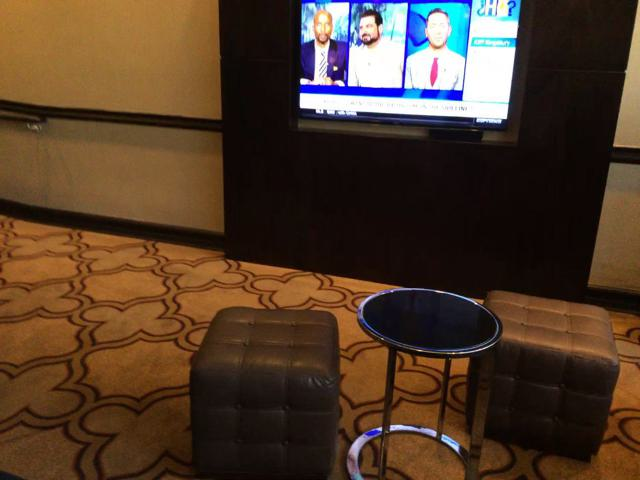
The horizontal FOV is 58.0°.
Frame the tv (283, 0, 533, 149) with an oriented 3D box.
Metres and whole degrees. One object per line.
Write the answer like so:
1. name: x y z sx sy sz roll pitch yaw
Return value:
1. tv: 0.450 -0.980 3.210 1.290 0.800 0.300 8 18 20
